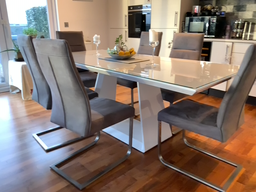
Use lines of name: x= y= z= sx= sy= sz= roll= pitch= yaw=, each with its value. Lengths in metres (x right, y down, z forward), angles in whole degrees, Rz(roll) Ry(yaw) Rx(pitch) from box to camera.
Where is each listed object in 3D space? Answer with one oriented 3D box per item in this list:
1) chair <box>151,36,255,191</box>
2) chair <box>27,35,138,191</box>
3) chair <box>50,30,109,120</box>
chair: x=0.580 y=0.080 z=1.610 sx=0.610 sy=1.000 sz=0.470 roll=15 pitch=23 yaw=40
chair: x=-0.300 y=0.060 z=1.650 sx=0.450 sy=1.000 sz=0.620 roll=15 pitch=23 yaw=38
chair: x=-0.630 y=-0.320 z=2.780 sx=0.440 sy=1.030 sz=0.650 roll=-14 pitch=23 yaw=-37
